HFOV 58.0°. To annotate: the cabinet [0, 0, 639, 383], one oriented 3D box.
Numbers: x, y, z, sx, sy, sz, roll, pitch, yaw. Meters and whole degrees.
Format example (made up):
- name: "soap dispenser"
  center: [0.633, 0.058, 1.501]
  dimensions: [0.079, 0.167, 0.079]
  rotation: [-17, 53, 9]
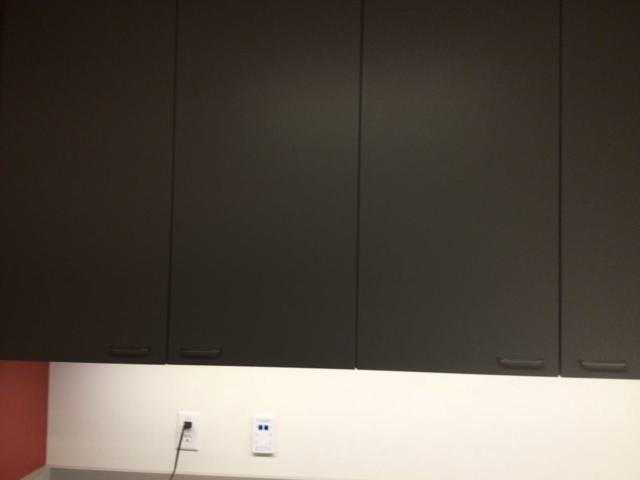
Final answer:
- name: "cabinet"
  center: [0.060, -0.220, 1.470]
  dimensions: [2.010, 1.080, 0.140]
  rotation: [-3, -5, 5]
